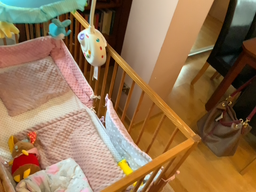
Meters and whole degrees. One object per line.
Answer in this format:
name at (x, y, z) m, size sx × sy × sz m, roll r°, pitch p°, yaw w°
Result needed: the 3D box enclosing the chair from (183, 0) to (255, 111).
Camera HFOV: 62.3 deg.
chair at (1.060, -0.400, 2.130) m, size 0.420 × 0.960 × 0.530 m, roll -12°, pitch 50°, yaw -29°
